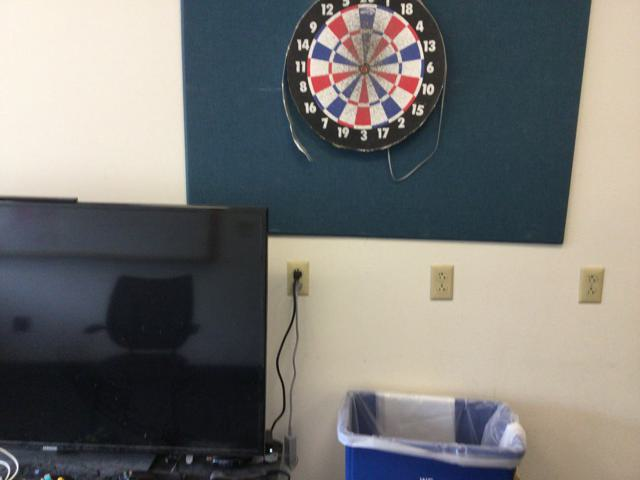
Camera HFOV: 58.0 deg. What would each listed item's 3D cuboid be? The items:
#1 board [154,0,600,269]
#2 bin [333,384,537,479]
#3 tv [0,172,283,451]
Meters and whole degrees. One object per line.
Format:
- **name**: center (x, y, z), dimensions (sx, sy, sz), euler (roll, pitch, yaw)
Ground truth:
- **board**: center (0.150, -0.410, 1.660), dimensions (1.190, 0.980, 0.130), euler (0, 11, 3)
- **bin**: center (0.310, 0.850, 1.730), dimensions (0.520, 0.730, 0.350), euler (0, 11, 3)
- **tv**: center (-0.770, 0.230, 1.640), dimensions (1.240, 0.700, 0.140), euler (-6, 11, 4)
